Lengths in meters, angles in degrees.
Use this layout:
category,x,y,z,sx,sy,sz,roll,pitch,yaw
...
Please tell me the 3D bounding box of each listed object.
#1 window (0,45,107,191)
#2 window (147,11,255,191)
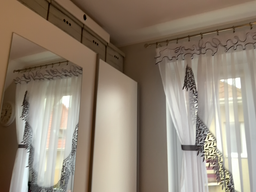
category,x,y,z,sx,sy,sz,roll,pitch,yaw
window,-0.910,0.480,2.370,1.330,1.900,0.240,-5,-14,26
window,0.920,0.200,1.540,1.550,1.630,0.270,-4,-14,24
